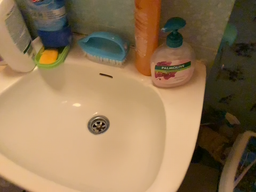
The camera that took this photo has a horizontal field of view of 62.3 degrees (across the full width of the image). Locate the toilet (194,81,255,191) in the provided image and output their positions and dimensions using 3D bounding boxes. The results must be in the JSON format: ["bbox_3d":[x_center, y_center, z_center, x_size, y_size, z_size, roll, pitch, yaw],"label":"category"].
[{"bbox_3d":[0.550,0.360,0.910,0.420,0.420,0.660,15,54,14],"label":"toilet"}]
